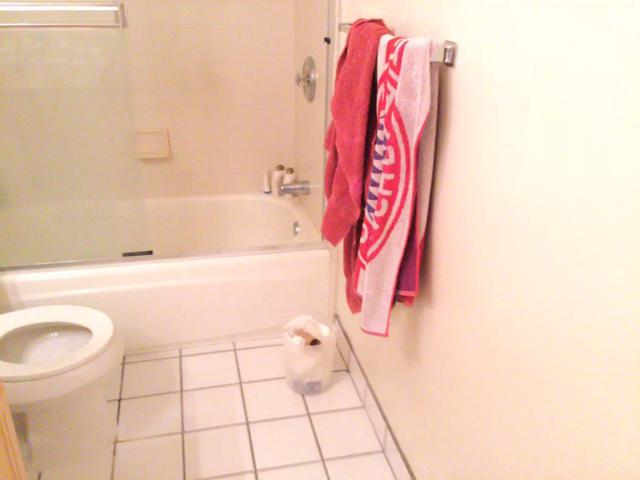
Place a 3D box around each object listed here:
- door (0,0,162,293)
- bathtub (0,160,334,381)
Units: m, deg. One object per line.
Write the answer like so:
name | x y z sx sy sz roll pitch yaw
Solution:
door | -0.980 -0.310 1.920 0.780 0.970 0.160 -5 22 -12
bathtub | -0.750 0.060 2.480 1.450 0.530 0.870 -5 22 -12
